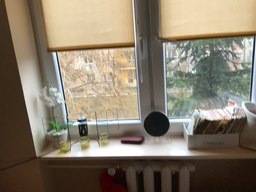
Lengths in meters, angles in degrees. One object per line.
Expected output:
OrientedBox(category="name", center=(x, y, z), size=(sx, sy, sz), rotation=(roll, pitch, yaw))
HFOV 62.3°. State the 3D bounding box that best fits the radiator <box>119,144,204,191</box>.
OrientedBox(category="radiator", center=(0.230, 0.710, 1.470), size=(0.500, 0.690, 0.250), rotation=(-2, 16, 7))
